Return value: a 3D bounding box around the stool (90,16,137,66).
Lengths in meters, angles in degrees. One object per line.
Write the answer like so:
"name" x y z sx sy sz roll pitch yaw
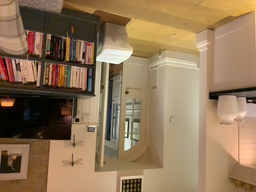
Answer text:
"stool" -0.230 -0.740 3.020 0.450 0.460 0.640 5 174 -24
